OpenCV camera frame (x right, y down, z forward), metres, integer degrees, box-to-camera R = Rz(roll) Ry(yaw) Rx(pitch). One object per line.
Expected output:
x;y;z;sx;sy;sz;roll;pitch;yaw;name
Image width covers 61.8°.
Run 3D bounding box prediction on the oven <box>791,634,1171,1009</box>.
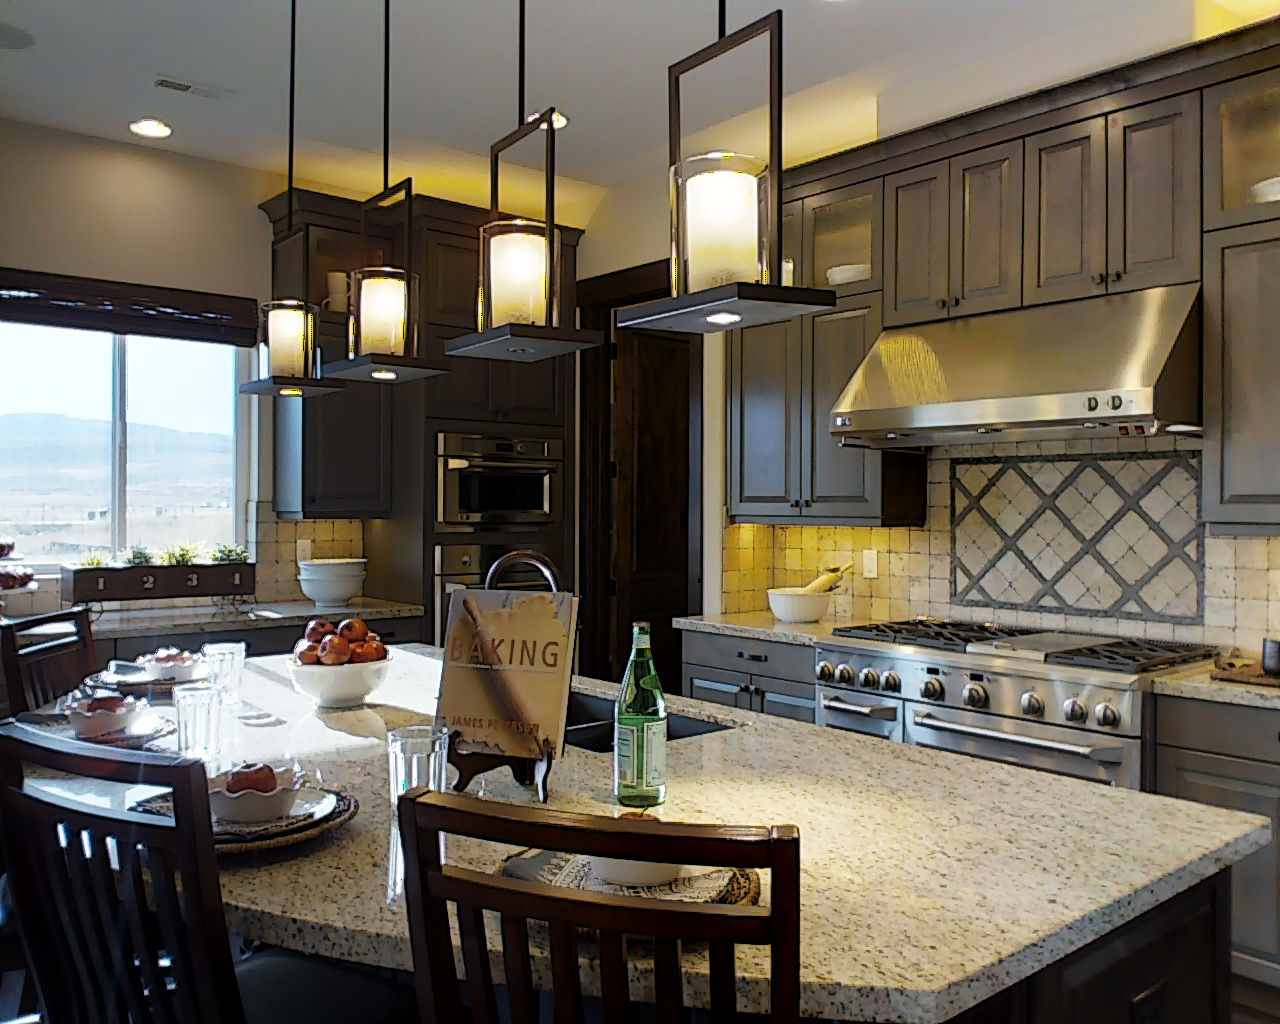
1.060;0.930;3.550;0.230;0.920;1.260;1;0;-41;oven
